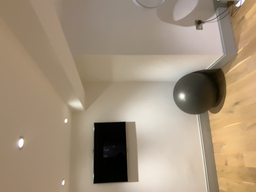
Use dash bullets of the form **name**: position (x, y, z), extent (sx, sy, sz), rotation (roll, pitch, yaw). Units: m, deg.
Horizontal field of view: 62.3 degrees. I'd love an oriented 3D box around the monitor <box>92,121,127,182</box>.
- **monitor**: position (-0.290, 0.840, 3.280), extent (0.040, 0.510, 0.900), rotation (107, 162, -71)
